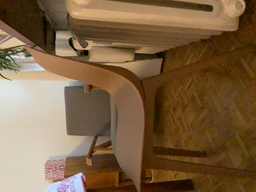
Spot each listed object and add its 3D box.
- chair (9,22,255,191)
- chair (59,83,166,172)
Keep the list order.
[{"bbox_3d":[0.040,0.060,0.850,0.480,0.800,0.480,161,108,-76],"label":"chair"},{"bbox_3d":[-0.170,0.190,1.880,0.720,0.770,0.590,-158,68,-76],"label":"chair"}]
